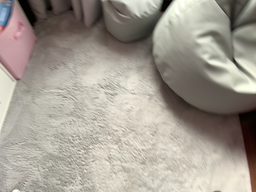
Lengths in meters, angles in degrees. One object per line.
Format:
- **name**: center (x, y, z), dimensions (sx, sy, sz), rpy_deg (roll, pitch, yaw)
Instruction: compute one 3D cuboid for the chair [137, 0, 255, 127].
- **chair**: center (0.510, -0.390, 1.030), dimensions (0.630, 0.610, 0.680), rpy_deg (35, 69, 16)
